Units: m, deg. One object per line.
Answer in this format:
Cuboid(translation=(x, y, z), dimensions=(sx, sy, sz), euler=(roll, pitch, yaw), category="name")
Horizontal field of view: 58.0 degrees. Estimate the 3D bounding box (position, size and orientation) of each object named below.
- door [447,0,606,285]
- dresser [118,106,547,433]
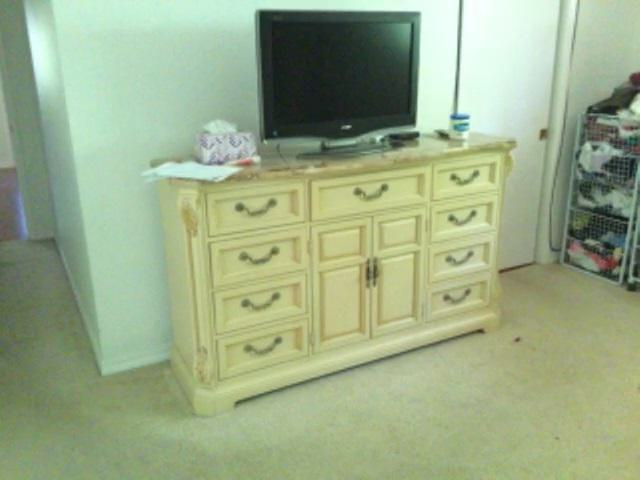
Cuboid(translation=(1.180, -0.660, 3.370), dimensions=(0.870, 1.750, 0.200), euler=(-9, 18, -15), category="door")
Cuboid(translation=(0.080, 0.010, 2.730), dimensions=(1.770, 1.070, 0.720), euler=(-10, 18, -19), category="dresser")
